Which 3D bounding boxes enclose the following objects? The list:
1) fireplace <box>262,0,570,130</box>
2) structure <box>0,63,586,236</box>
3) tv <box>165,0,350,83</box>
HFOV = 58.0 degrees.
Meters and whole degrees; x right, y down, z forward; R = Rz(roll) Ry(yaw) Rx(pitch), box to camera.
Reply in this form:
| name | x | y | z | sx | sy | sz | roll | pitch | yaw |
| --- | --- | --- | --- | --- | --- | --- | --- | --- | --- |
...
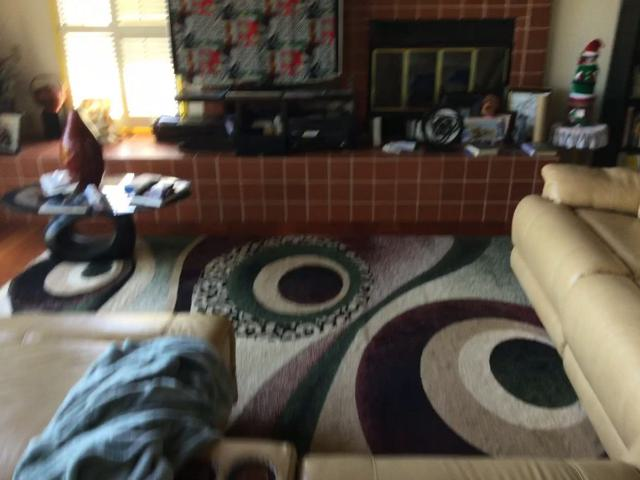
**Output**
| name | x | y | z | sx | sy | sz | roll | pitch | yaw |
| --- | --- | --- | --- | --- | --- | --- | --- | --- | --- |
| fireplace | 0.670 | -1.600 | 4.340 | 2.100 | 1.330 | 0.680 | -2 | 22 | 3 |
| structure | -0.520 | -0.660 | 4.210 | 4.410 | 0.940 | 0.750 | -2 | 22 | 3 |
| tv | -0.410 | -1.530 | 3.900 | 1.190 | 0.840 | 0.240 | -2 | 22 | 3 |
